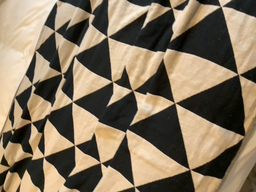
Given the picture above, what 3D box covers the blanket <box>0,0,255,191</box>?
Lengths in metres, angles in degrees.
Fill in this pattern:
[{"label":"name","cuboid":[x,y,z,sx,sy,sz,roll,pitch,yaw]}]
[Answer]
[{"label":"blanket","cuboid":[-0.020,-0.180,0.580,0.770,0.090,1.460,34,101,36]}]
